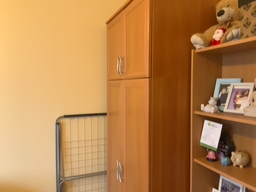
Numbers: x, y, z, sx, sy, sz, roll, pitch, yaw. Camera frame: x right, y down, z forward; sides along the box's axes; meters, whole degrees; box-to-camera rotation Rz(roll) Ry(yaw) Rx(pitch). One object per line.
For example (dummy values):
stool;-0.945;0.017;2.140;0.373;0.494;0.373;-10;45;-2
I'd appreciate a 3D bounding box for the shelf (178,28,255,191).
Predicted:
shelf;0.560;0.610;1.030;0.330;1.740;0.610;-1;4;-21
